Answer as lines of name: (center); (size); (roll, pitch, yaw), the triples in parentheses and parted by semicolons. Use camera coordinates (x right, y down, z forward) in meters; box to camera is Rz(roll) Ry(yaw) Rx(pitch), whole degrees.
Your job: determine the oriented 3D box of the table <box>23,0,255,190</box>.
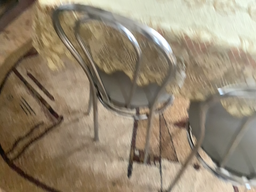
table: (0.340, -0.210, 1.040); (1.110, 0.760, 0.780); (20, 58, 14)
